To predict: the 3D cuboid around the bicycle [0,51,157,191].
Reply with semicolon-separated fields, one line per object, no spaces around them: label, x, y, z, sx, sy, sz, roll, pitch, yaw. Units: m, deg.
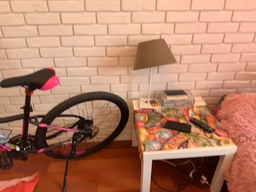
bicycle;-0.690;0.300;1.200;1.500;0.830;0.800;-2;33;-5
